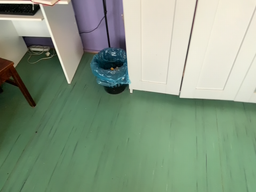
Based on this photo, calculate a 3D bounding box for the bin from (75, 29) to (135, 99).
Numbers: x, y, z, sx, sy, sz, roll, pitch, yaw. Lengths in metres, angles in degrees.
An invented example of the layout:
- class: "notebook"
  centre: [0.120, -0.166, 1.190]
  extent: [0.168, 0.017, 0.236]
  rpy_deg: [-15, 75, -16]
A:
- class: "bin"
  centre: [-0.160, -0.280, 1.780]
  extent: [0.350, 0.280, 0.520]
  rpy_deg: [7, 50, 9]
